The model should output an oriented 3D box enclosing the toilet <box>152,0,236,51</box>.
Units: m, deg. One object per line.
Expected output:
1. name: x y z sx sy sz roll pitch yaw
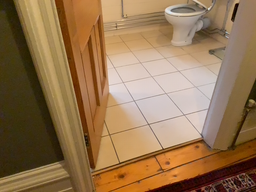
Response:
1. toilet: 0.740 -1.090 2.410 0.730 0.890 0.510 -13 40 -14
